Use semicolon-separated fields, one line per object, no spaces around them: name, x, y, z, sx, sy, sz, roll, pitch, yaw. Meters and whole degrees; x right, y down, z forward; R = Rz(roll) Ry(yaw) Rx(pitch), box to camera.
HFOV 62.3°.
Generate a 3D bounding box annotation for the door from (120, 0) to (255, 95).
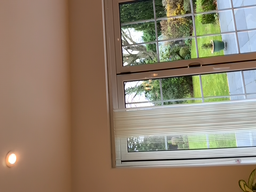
door;0.900;-1.040;2.120;0.090;1.980;1.910;29;-123;-80
